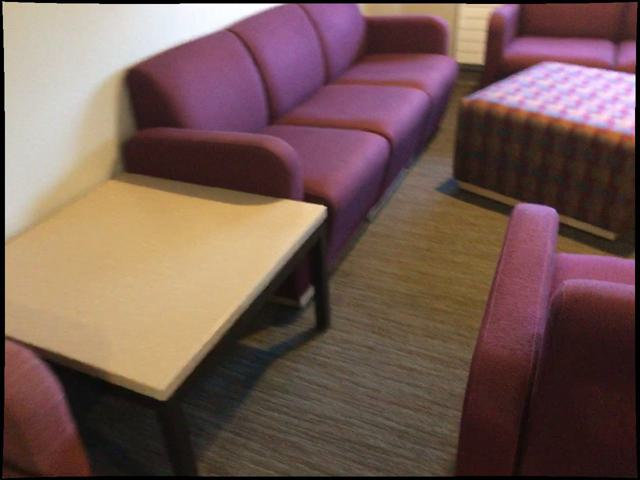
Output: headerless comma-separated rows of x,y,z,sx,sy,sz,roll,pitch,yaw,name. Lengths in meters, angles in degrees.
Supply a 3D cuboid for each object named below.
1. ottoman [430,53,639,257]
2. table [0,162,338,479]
1.117,-0.441,2.560,0.968,0.471,0.990,13,34,22,ottoman
-0.489,0.190,1.680,0.798,0.421,0.870,13,34,22,table
